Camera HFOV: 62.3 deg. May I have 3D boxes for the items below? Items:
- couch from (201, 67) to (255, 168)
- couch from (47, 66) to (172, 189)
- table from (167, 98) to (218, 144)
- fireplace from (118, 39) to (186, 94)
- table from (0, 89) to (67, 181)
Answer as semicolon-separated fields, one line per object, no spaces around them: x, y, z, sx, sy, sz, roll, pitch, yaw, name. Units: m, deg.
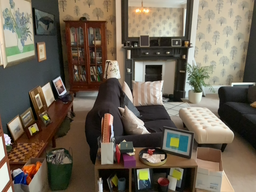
2.000;0.150;3.220;1.110;0.850;1.900;1;17;1;couch
-0.150;0.180;3.060;1.110;0.870;2.210;1;17;1;couch
0.960;0.350;3.380;0.510;0.350;1.010;1;17;1;table
0.560;-0.770;5.470;1.620;1.310;0.580;0;17;0;fireplace
-1.530;0.420;3.190;0.410;0.310;2.780;1;17;0;table
